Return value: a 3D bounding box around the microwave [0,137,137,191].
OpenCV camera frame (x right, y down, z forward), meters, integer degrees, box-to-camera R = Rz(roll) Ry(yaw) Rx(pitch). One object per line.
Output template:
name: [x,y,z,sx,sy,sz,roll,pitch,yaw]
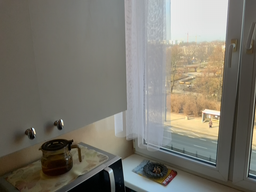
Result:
microwave: [-0.280,0.470,1.070,0.380,0.270,0.550,11,18,42]
